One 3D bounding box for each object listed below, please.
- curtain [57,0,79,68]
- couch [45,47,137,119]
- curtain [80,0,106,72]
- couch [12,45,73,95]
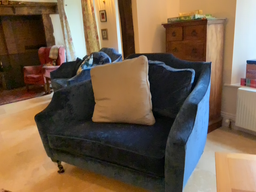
[{"bbox_3d":[-1.470,-1.580,5.210,0.180,1.720,0.380,-15,19,-31],"label":"curtain"},{"bbox_3d":[-0.660,-0.330,3.640,1.100,0.870,1.200,-14,19,-28],"label":"couch"},{"bbox_3d":[-0.710,-1.430,4.190,0.210,1.840,0.460,-13,19,-26],"label":"curtain"},{"bbox_3d":[-1.880,-0.610,4.780,0.750,0.940,0.840,5,19,28],"label":"couch"}]
